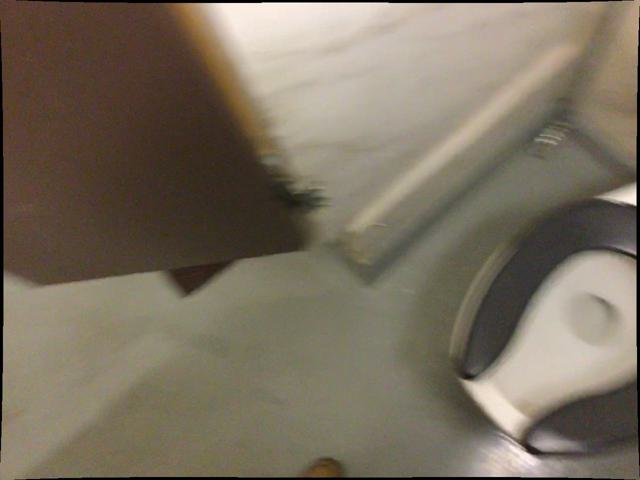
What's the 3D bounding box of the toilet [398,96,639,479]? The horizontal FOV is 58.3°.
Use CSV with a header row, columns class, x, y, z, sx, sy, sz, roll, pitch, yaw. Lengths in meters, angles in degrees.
class,x,y,z,sx,sy,sz,roll,pitch,yaw
toilet,0.560,0.090,1.150,0.730,0.390,0.460,-41,-18,-6
